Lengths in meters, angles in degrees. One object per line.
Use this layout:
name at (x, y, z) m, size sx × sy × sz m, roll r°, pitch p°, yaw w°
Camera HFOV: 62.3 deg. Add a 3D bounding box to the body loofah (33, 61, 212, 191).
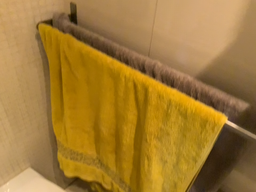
body loofah at (-0.090, 0.370, 0.930) m, size 0.600 × 0.860 × 0.180 m, roll 32°, pitch 45°, yaw 29°
